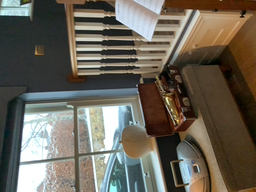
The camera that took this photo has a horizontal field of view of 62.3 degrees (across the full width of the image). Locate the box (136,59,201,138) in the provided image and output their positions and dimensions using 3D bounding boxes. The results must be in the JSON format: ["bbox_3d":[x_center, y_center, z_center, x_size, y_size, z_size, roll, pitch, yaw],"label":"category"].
[{"bbox_3d":[0.340,0.030,2.010,0.460,0.340,0.590,112,152,-61],"label":"box"}]
